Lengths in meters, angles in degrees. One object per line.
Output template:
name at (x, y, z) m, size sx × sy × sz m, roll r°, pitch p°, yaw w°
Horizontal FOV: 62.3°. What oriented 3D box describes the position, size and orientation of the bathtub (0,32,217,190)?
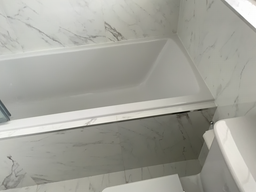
bathtub at (-0.360, 0.090, 1.490) m, size 1.580 × 0.570 × 0.720 m, roll -8°, pitch 46°, yaw -4°
